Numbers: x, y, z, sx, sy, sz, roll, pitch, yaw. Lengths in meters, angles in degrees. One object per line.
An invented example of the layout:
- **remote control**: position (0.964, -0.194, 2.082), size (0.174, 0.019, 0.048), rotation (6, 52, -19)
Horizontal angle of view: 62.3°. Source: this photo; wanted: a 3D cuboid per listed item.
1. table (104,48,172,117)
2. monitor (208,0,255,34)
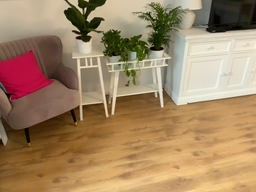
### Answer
- **table**: position (0.100, -0.190, 2.720), size (0.720, 0.680, 0.480), rotation (-7, 31, -11)
- **monitor**: position (1.410, -1.050, 2.510), size (0.870, 0.570, 0.050), rotation (-7, 31, -11)
